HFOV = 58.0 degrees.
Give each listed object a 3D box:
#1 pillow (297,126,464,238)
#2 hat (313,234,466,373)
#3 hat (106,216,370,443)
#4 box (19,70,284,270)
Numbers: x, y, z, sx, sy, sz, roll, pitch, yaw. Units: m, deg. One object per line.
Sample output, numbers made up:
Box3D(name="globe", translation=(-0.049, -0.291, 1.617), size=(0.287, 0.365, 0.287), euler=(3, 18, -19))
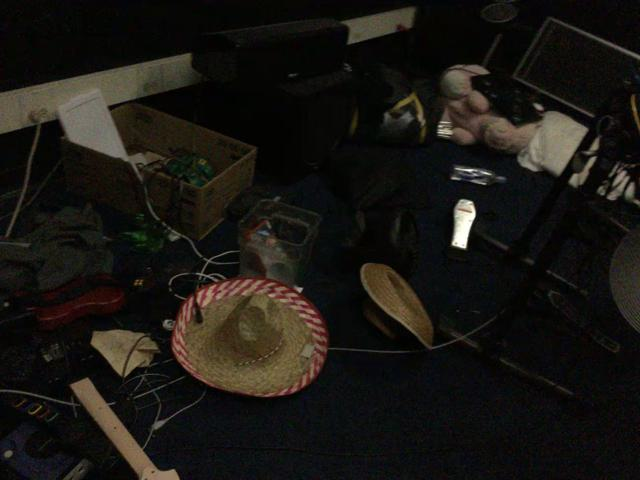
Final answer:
Box3D(name="pillow", translation=(0.260, -0.270, 2.460), size=(0.500, 0.150, 0.500), euler=(30, 38, 27))
Box3D(name="hat", translation=(0.210, 0.180, 1.780), size=(0.350, 0.180, 0.270), euler=(30, 38, 27))
Box3D(name="hat", translation=(-0.230, 0.210, 1.660), size=(0.530, 0.200, 0.500), euler=(30, 38, 27))
Box3D(name="box", translation=(-0.590, -0.300, 2.100), size=(0.610, 0.350, 0.640), euler=(30, 38, 27))
